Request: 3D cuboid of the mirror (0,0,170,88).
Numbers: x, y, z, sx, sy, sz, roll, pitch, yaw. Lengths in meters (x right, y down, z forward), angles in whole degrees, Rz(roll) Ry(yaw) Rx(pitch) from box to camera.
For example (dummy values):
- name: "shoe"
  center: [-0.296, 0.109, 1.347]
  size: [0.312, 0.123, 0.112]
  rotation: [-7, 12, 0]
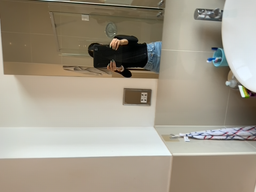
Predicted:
- name: "mirror"
  center: [-0.190, -0.390, 0.990]
  size: [0.050, 0.770, 0.690]
  rotation: [-123, 35, -74]

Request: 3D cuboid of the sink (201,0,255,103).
- name: "sink"
  center: [0.540, -0.320, 0.840]
  size: [0.510, 0.180, 0.640]
  rotation: [-123, 35, -74]
